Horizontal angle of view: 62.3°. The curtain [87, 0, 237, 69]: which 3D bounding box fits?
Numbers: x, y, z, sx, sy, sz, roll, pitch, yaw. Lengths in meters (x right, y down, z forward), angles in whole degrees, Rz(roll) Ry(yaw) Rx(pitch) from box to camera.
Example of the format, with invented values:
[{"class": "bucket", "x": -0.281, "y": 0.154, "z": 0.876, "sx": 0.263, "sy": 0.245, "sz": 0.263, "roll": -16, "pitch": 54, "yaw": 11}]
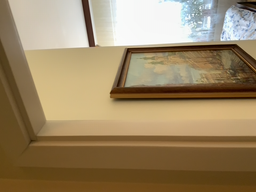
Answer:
[{"class": "curtain", "x": 0.640, "y": -1.520, "z": 4.290, "sx": 0.220, "sy": 2.810, "sz": 1.890, "roll": -79, "pitch": -14, "yaw": -62}]
